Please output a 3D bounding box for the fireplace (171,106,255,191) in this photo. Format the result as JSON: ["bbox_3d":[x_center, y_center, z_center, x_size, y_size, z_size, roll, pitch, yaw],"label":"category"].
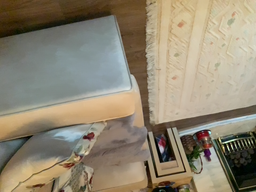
[{"bbox_3d":[1.240,0.690,2.100,1.340,0.980,0.560,-11,143,-1],"label":"fireplace"}]

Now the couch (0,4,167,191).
[{"bbox_3d":[-0.390,0.340,1.320,1.020,0.830,1.280,-11,143,0],"label":"couch"}]

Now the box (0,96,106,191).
[{"bbox_3d":[-0.330,0.280,0.930,0.210,0.430,0.420,36,95,-19],"label":"box"}]
